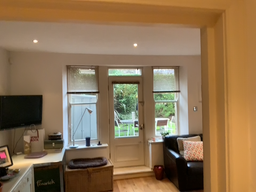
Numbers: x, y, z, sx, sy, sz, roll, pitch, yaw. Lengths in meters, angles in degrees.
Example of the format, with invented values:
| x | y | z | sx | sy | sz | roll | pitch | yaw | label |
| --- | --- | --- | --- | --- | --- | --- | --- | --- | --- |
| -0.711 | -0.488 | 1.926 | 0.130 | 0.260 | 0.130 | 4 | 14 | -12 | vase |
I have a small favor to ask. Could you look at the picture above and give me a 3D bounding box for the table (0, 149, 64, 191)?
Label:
| x | y | z | sx | sy | sz | roll | pitch | yaw | label |
| --- | --- | --- | --- | --- | --- | --- | --- | --- | --- |
| -1.600 | 1.360 | 3.490 | 0.970 | 0.680 | 0.840 | -2 | 0 | -14 | table |
